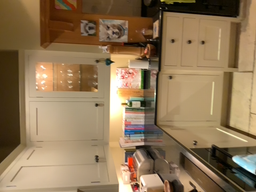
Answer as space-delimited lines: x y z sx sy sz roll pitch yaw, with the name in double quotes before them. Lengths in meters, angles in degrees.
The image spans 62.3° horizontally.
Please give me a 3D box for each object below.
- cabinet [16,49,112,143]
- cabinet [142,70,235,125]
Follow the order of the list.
"cabinet" -0.700 0.000 2.450 0.380 0.970 0.970 -145 57 -78
"cabinet" 0.670 -0.010 2.560 0.630 0.860 0.560 -145 57 -78
